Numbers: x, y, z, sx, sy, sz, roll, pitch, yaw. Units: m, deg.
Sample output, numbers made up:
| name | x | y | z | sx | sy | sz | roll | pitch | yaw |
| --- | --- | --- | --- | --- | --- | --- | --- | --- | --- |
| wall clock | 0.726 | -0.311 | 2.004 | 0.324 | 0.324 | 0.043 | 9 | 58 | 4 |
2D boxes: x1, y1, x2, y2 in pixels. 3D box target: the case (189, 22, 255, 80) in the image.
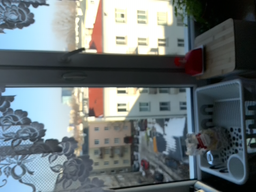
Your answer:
| name | x | y | z | sx | sy | sz | roll | pitch | yaw |
| --- | --- | --- | --- | --- | --- | --- | --- | --- | --- |
| case | 0.500 | -0.210 | 1.120 | 0.370 | 0.180 | 0.240 | -166 | 75 | -75 |
